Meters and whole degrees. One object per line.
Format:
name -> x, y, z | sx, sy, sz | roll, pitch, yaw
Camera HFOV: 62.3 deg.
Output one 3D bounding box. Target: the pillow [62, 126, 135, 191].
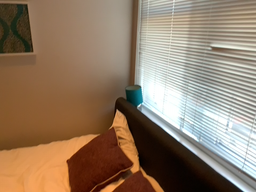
pillow -> -0.240, 0.460, 1.560 | 0.390, 0.230, 0.490 | -6, 19, -24
